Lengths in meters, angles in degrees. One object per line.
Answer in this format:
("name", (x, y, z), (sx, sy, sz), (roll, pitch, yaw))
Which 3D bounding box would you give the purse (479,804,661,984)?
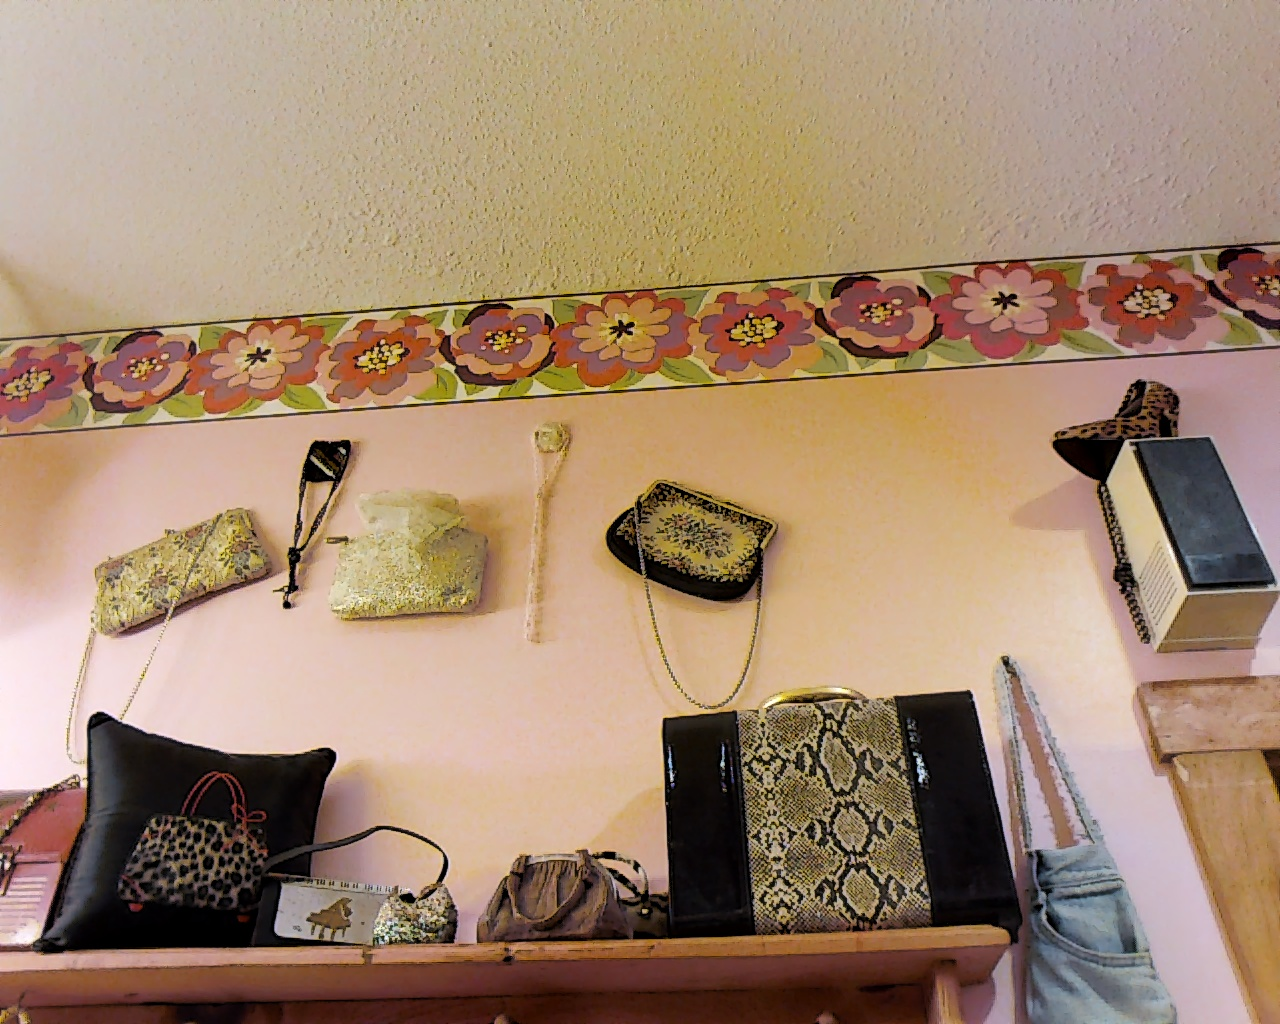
("purse", (-0.060, 0.360, 1.010), (0.150, 0.120, 0.120), (-3, -40, 3))

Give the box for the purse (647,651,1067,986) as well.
("purse", (0.190, 0.290, 1.030), (0.330, 0.230, 0.130), (-9, -40, 0))

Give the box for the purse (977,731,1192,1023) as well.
("purse", (0.410, 0.360, 1.010), (0.110, 0.300, 0.070), (-3, -40, 3))

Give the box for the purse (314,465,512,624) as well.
("purse", (-0.280, 0.040, 1.360), (0.210, 0.170, 0.090), (-3, -40, 4))

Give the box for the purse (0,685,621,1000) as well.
("purse", (-0.460, 0.340, 1.090), (0.870, 0.240, 0.150), (-3, -40, 3))

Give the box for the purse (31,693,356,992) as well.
("purse", (-0.430, 0.330, 1.080), (0.210, 0.240, 0.150), (-3, -40, 3))

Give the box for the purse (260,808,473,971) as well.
("purse", (-0.260, 0.370, 1.050), (0.160, 0.110, 0.120), (-3, -40, 3))
